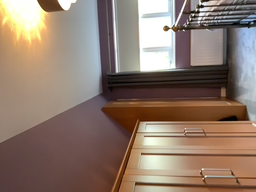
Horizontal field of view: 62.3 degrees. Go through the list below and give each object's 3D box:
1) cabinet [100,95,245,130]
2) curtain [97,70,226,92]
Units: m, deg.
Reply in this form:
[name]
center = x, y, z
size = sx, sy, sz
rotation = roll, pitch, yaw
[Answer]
[cabinet]
center = 0.670, 0.260, 3.600
size = 0.960, 2.090, 0.370
rotation = -48, -44, -79
[curtain]
center = 0.580, -0.270, 3.940
size = 0.150, 2.320, 0.330
rotation = -48, -44, -79
